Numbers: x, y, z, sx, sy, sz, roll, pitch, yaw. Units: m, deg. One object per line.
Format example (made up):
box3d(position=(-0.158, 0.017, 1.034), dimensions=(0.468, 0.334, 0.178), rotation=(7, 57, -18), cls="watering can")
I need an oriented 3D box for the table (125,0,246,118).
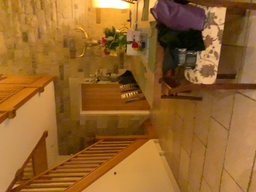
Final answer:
box3d(position=(0.470, -0.860, 3.220), dimensions=(2.830, 0.780, 1.370), rotation=(-107, 19, -72), cls="table")
